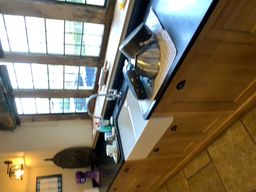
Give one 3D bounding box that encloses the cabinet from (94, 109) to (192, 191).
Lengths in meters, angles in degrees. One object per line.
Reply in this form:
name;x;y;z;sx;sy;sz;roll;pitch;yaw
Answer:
cabinet;0.070;0.960;3.140;1.590;0.870;0.710;112;151;-47
